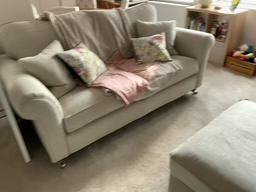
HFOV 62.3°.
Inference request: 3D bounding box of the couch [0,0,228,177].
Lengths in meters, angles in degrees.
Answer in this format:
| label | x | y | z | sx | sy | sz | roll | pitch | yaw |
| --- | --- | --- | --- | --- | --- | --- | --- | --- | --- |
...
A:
| label | x | y | z | sx | sy | sz | roll | pitch | yaw |
| --- | --- | --- | --- | --- | --- | --- | --- | --- | --- |
| couch | -0.140 | -0.370 | 2.220 | 2.040 | 0.940 | 1.120 | -23 | 37 | -31 |
